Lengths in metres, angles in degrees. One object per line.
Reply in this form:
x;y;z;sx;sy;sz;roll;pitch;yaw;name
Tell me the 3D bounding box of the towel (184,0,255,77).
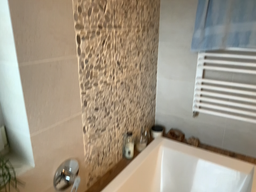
0.690;-0.650;1.260;0.560;1.010;0.210;14;23;33;towel
